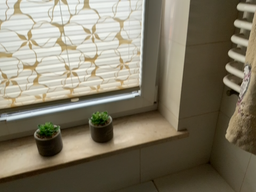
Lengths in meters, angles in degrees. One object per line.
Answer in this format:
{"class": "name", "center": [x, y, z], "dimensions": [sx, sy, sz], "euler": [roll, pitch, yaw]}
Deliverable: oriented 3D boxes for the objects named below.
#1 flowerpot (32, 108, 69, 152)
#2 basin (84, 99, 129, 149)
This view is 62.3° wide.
{"class": "flowerpot", "center": [-0.320, 0.140, 0.900], "dimensions": [0.120, 0.100, 0.150], "euler": [-6, 28, -10]}
{"class": "basin", "center": [-0.100, 0.120, 0.970], "dimensions": [0.160, 0.130, 0.160], "euler": [-12, 29, -19]}
